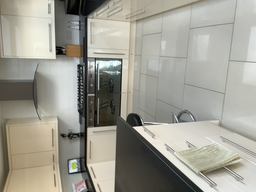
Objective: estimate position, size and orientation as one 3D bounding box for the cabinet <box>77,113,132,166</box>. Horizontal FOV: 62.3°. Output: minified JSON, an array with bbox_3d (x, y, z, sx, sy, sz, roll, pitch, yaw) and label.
[{"bbox_3d":[-0.470,0.800,4.110,0.580,0.920,0.730,-150,60,-65],"label":"cabinet"}]

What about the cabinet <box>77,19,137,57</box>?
[{"bbox_3d":[-0.390,-0.990,3.740,0.580,0.910,0.560,-150,60,-65],"label":"cabinet"}]

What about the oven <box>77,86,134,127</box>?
[{"bbox_3d":[-0.440,0.160,3.970,0.590,0.920,0.590,-150,60,-65],"label":"oven"}]

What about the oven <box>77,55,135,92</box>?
[{"bbox_3d":[-0.420,-0.430,3.850,0.590,0.920,0.590,-150,60,-65],"label":"oven"}]
